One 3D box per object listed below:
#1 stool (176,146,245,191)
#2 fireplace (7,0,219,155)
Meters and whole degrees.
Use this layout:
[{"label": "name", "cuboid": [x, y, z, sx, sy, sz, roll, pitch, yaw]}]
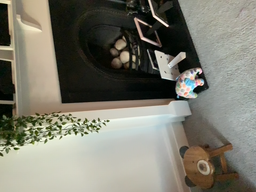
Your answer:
[{"label": "stool", "cuboid": [0.550, 0.520, 1.450, 0.280, 0.250, 0.270, -38, 60, 52]}, {"label": "fireplace", "cuboid": [-0.200, -0.450, 1.670, 0.690, 1.250, 1.510, -34, 63, 54]}]
